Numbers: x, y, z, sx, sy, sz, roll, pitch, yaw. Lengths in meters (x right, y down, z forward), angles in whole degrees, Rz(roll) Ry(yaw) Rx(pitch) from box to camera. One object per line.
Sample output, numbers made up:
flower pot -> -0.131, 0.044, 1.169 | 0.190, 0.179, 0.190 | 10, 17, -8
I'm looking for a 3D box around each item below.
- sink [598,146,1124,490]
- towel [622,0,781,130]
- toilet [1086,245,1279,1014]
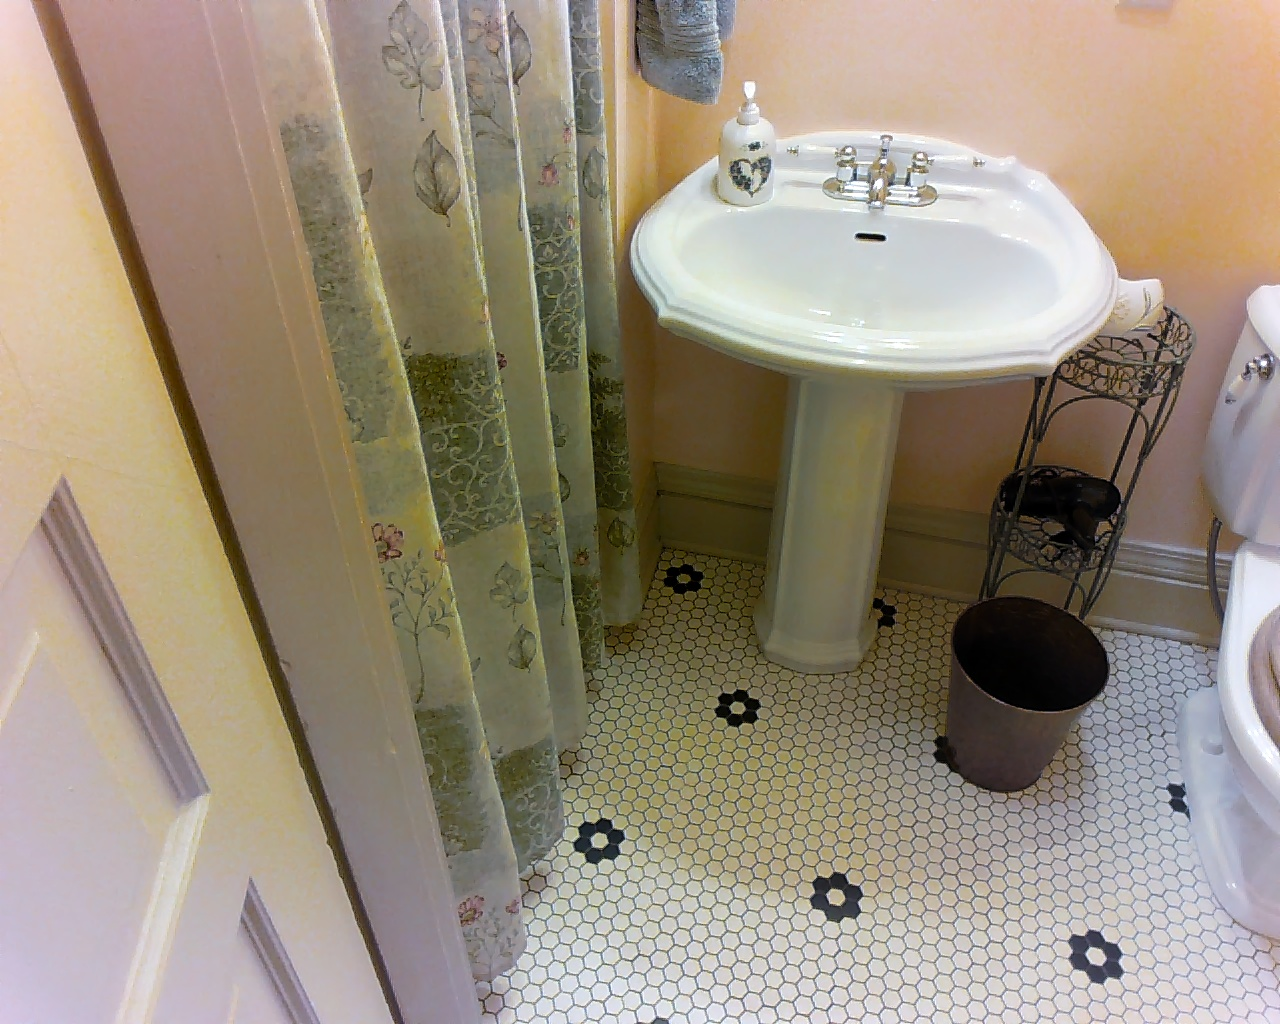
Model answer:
sink -> 0.320, -0.310, 1.560 | 0.640, 0.180, 0.500 | 10, 43, 11
towel -> 0.090, -0.750, 1.450 | 0.180, 0.380, 0.210 | 10, 43, 11
toilet -> 1.030, 0.180, 1.550 | 0.500, 0.780, 0.770 | 9, 43, 10
